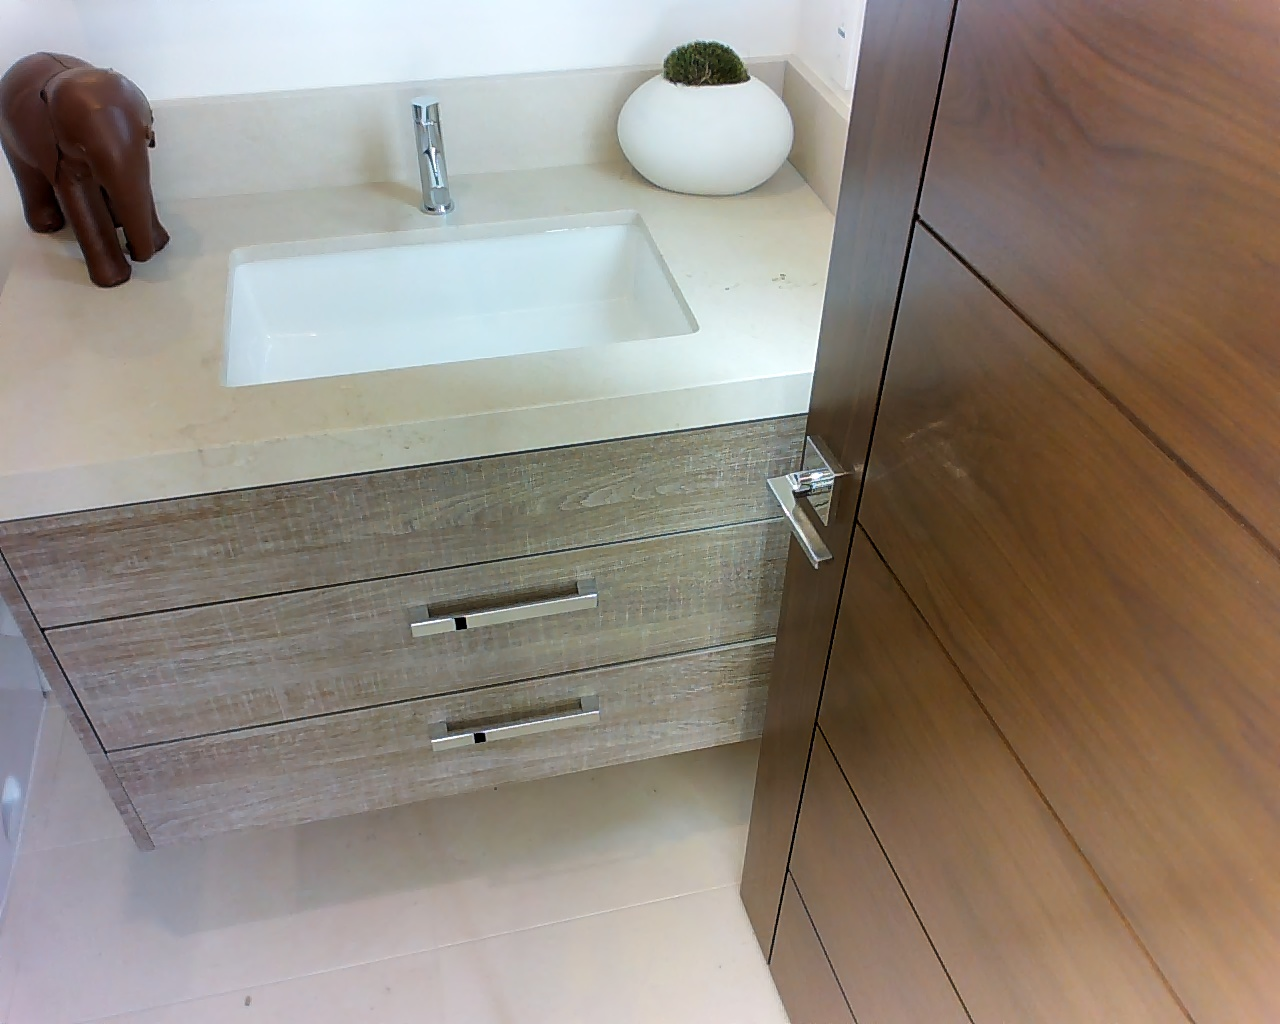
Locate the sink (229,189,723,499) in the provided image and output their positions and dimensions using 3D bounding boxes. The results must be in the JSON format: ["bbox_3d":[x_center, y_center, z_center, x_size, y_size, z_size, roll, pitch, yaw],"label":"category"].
[{"bbox_3d":[-0.210,-0.230,1.370,0.550,0.180,0.320,-9,43,-11],"label":"sink"}]
